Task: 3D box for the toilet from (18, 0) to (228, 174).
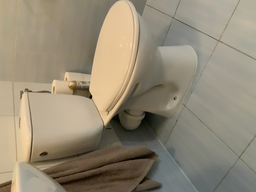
[{"bbox_3d":[-0.070,-0.070,0.980,0.360,0.720,0.680,52,131,46],"label":"toilet"}]
